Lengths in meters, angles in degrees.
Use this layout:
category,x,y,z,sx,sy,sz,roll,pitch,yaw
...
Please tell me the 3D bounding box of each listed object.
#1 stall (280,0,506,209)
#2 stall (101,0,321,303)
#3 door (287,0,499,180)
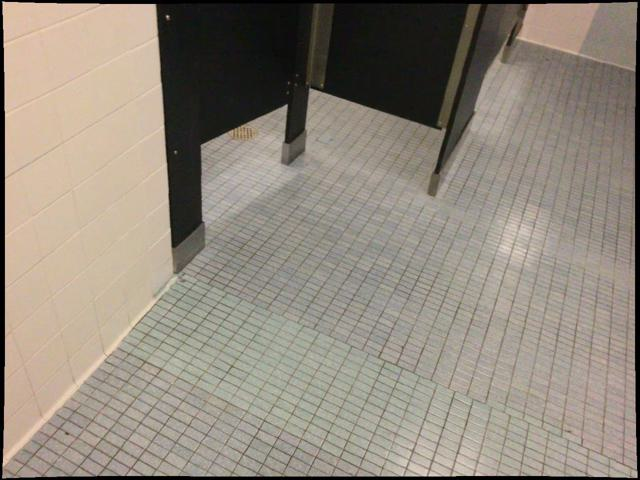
category,x,y,z,sx,sy,sz,roll,pitch,yaw
stall,0.259,-0.752,2.040,0.669,1.162,0.280,21,41,14
stall,-0.259,-0.471,1.800,0.100,0.981,0.980,21,42,14
door,0.249,-0.772,1.980,0.649,1.032,0.150,21,41,14
